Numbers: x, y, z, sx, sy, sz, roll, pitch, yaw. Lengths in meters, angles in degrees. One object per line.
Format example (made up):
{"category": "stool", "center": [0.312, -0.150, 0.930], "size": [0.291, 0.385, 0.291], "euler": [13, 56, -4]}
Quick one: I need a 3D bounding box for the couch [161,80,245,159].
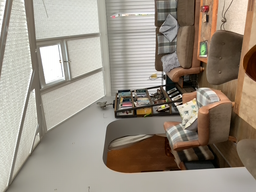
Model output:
{"category": "couch", "center": [1.120, 0.320, 3.490], "size": [0.980, 0.980, 0.920], "euler": [-99, 6, -74]}

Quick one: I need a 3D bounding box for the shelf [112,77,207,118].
{"category": "shelf", "center": [0.610, -0.020, 4.870], "size": [1.270, 1.900, 0.430], "euler": [-98, 5, -70]}

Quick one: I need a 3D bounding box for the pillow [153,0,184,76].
{"category": "pillow", "center": [0.850, -1.380, 4.610], "size": [0.650, 0.480, 1.760], "euler": [-97, 5, -69]}

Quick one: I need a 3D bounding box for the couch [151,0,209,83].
{"category": "couch", "center": [1.040, -1.510, 4.570], "size": [1.120, 0.910, 2.200], "euler": [-98, 5, -71]}
